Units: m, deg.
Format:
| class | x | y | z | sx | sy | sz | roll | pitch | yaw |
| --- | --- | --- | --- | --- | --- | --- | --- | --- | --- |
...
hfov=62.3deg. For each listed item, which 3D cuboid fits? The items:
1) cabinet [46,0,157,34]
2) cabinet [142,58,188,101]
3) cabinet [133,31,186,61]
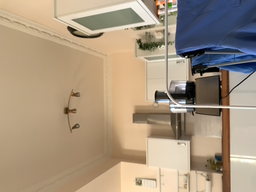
| class | x | y | z | sx | sy | sz | roll | pitch | yaw |
| --- | --- | --- | --- | --- | --- | --- | --- | --- | --- |
| cabinet | -0.220 | -0.810 | 1.860 | 0.480 | 0.840 | 0.310 | 0 | -90 | -67 |
| cabinet | 0.690 | -0.290 | 3.960 | 0.300 | 0.780 | 0.740 | -2 | -88 | -67 |
| cabinet | 0.540 | -0.810 | 3.560 | 0.560 | 0.770 | 0.310 | 0 | -90 | -67 |
